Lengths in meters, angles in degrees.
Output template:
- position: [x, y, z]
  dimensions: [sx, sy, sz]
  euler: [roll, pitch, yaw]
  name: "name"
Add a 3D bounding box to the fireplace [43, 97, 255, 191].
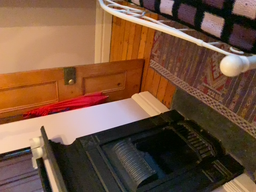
- position: [0.110, 0.470, 1.530]
  dimensions: [0.930, 1.160, 0.280]
  euler: [45, 137, 44]
  name: "fireplace"
